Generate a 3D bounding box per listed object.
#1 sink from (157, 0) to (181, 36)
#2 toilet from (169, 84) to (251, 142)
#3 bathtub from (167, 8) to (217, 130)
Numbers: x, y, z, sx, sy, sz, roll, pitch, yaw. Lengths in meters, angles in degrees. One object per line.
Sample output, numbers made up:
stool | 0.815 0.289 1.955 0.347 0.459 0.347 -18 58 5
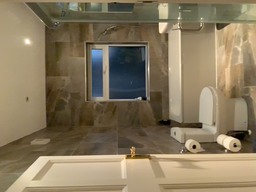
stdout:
sink | 0.520 -1.080 2.790 0.550 0.180 0.420 171 98 -87
toilet | 0.930 0.180 2.490 0.420 0.790 0.610 179 90 -87
bathtub | 0.990 -0.390 3.410 0.680 0.540 1.770 169 101 -87
